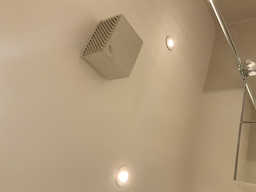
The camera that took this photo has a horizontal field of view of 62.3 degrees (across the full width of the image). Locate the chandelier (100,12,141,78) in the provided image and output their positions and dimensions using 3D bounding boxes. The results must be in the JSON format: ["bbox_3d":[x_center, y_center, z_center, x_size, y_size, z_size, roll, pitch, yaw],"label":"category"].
[{"bbox_3d":[-0.040,-0.180,0.820,0.130,0.190,0.240,-2,179,-8],"label":"chandelier"}]
